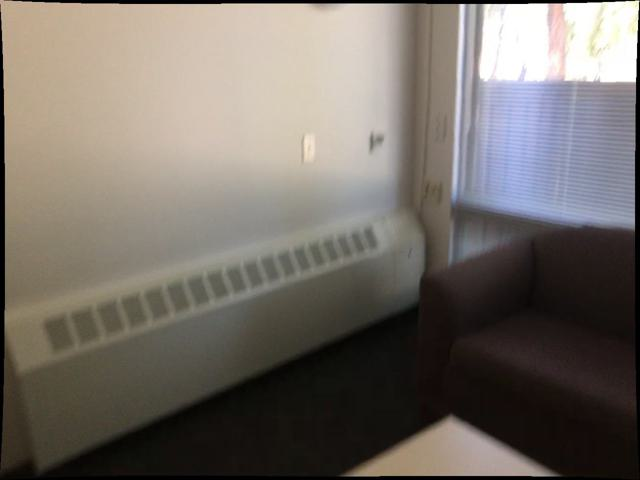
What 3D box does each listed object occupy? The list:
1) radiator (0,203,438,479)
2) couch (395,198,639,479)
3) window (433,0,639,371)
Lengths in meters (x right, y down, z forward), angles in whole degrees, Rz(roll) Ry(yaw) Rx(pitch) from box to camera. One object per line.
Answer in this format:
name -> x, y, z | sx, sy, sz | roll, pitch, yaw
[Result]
radiator -> -0.220, 0.341, 2.580 | 2.108, 0.661, 0.180 | -15, 23, -39
couch -> 1.268, 0.471, 1.900 | 0.939, 0.761, 1.839 | -15, 23, -39
window -> 1.108, -0.541, 2.530 | 0.280, 1.983, 1.159 | -15, 23, -39
